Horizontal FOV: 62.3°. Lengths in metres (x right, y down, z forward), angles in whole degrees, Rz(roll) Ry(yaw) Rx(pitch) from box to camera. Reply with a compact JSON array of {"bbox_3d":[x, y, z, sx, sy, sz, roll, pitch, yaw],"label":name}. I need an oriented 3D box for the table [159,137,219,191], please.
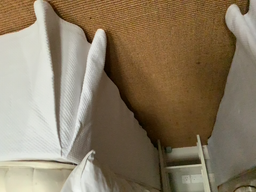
[{"bbox_3d":[0.620,0.840,2.150,0.470,0.720,0.400,-9,154,12],"label":"table"}]
